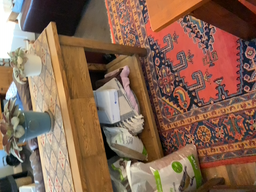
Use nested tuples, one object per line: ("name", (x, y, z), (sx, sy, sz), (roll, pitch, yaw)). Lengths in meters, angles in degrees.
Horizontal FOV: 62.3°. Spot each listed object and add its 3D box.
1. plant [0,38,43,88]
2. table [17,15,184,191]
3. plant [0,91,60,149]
("plant", (-0.700, -0.200, 1.380), (0.310, 0.140, 0.210), (-22, 77, 43))
("table", (-0.180, 0.360, 1.590), (0.590, 0.840, 1.590), (-22, 77, 43))
("plant", (-0.610, 0.140, 1.260), (0.290, 0.250, 0.270), (-21, 78, 43))
